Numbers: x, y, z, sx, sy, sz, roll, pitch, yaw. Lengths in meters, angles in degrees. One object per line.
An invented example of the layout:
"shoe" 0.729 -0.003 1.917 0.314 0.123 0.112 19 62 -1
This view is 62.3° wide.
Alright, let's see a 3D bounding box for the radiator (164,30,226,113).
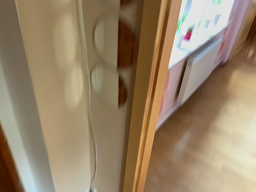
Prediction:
"radiator" 0.820 -0.340 2.510 0.110 0.630 1.180 27 40 28
